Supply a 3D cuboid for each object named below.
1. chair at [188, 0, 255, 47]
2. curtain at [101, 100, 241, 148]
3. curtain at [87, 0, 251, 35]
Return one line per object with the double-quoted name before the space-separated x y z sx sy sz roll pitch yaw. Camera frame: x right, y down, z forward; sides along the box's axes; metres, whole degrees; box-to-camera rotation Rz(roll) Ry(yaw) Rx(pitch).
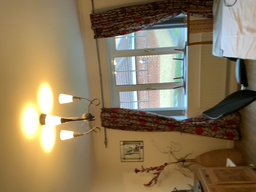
"chair" 1.180 -0.820 2.230 0.560 0.950 0.530 -81 -12 -75
"curtain" 0.680 0.470 3.500 0.180 2.170 0.690 -81 -11 -75
"curtain" 0.560 -1.220 3.070 0.230 2.230 0.510 -85 -7 -67
